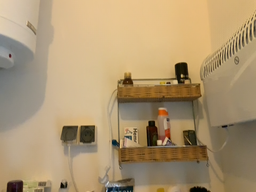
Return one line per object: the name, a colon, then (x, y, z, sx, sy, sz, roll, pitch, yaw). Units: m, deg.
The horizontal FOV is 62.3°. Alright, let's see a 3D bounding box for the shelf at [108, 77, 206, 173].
shelf: (0.100, 0.110, 0.840, 0.350, 0.350, 0.120, 0, -11, -2)
